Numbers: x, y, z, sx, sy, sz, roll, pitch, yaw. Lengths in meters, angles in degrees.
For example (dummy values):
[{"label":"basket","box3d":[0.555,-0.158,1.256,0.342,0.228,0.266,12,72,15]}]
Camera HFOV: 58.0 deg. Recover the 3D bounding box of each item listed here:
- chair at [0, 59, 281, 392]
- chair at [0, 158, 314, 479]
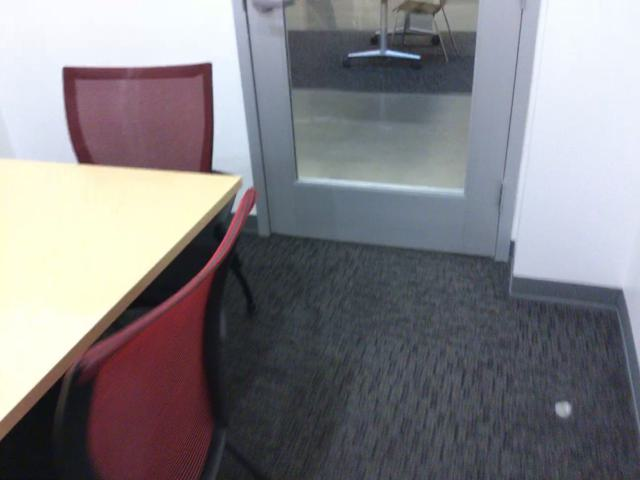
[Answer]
[{"label":"chair","box3d":[-0.510,-0.060,1.750,0.620,0.810,0.570,1,31,8]},{"label":"chair","box3d":[-0.360,0.350,1.030,0.510,0.800,0.560,6,32,16]}]
